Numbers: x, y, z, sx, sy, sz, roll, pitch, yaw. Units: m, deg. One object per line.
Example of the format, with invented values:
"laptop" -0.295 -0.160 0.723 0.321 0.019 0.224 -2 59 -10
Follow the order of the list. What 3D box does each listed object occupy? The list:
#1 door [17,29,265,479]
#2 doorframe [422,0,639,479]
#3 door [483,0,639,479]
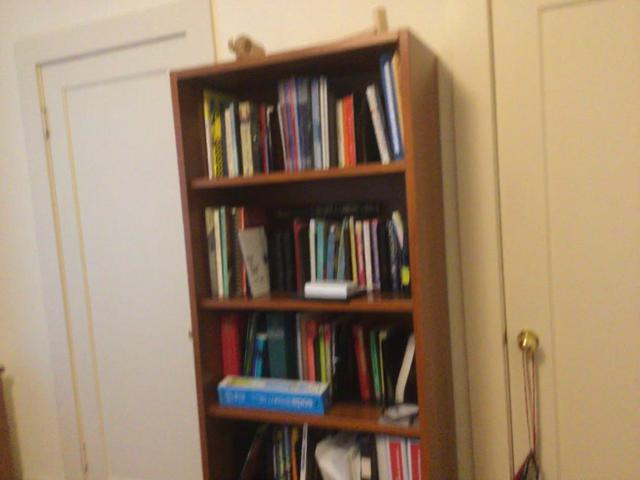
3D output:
"door" -0.710 0.250 2.280 0.940 1.940 0.110 -2 4 22
"doorframe" 0.870 0.100 1.610 1.070 2.140 0.100 -2 4 22
"door" 0.900 0.180 1.620 0.770 1.980 0.070 -2 4 22
